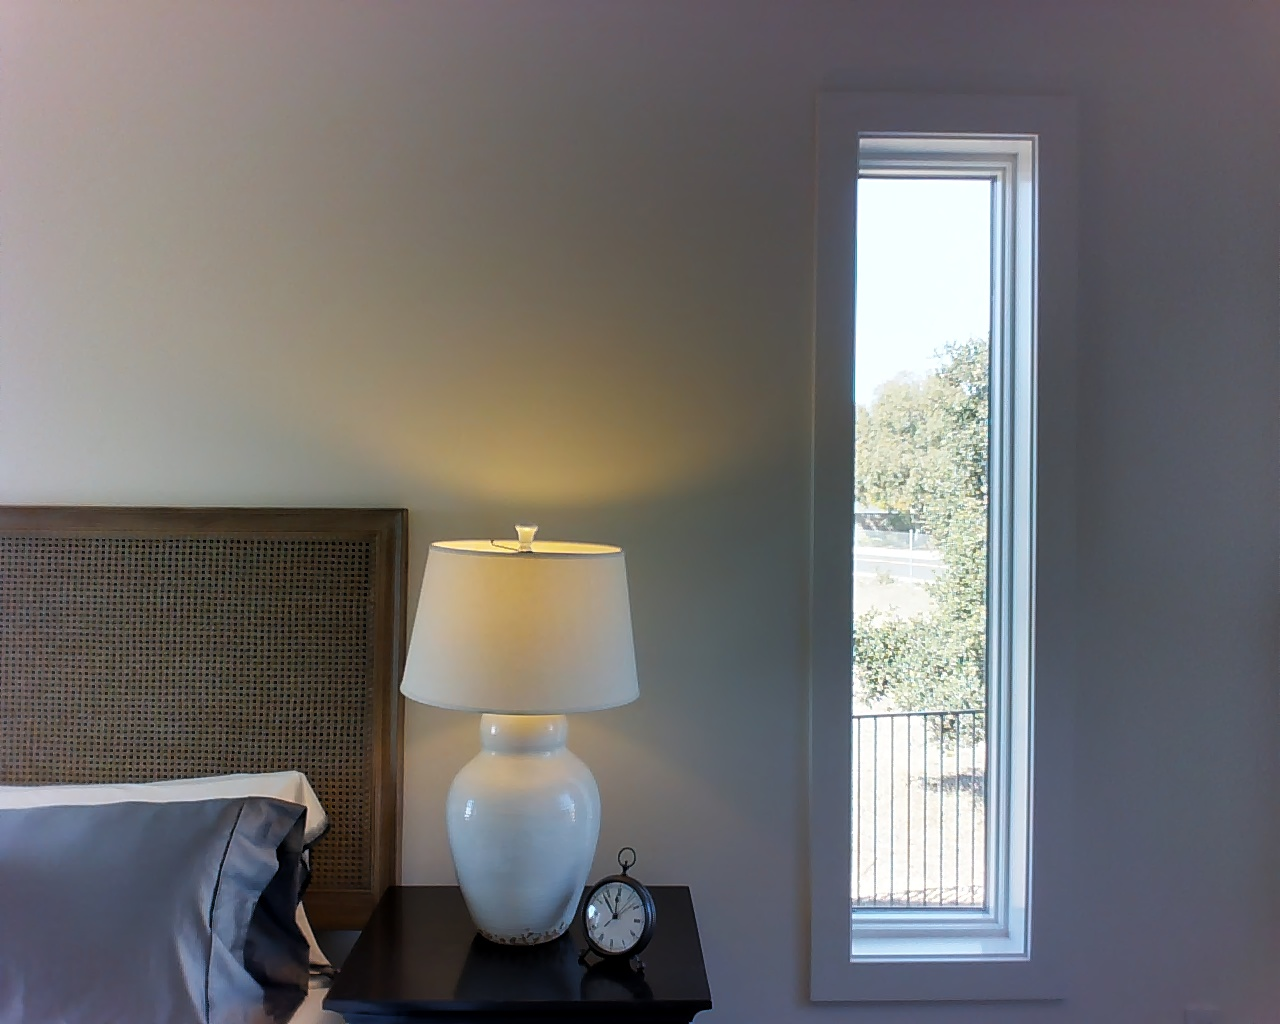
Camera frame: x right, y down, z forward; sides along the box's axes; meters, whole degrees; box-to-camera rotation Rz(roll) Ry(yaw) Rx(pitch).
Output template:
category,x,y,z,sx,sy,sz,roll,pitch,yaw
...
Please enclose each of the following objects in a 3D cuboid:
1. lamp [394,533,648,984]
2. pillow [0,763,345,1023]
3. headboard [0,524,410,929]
category,x,y,z,sx,sy,sz,roll,pitch,yaw
lamp,-0.200,0.410,1.980,0.410,0.730,0.430,1,0,-1
pillow,-1.050,0.680,1.860,0.970,0.410,0.250,1,26,-1
headboard,-1.510,0.440,2.260,2.020,0.830,0.090,1,0,-1
